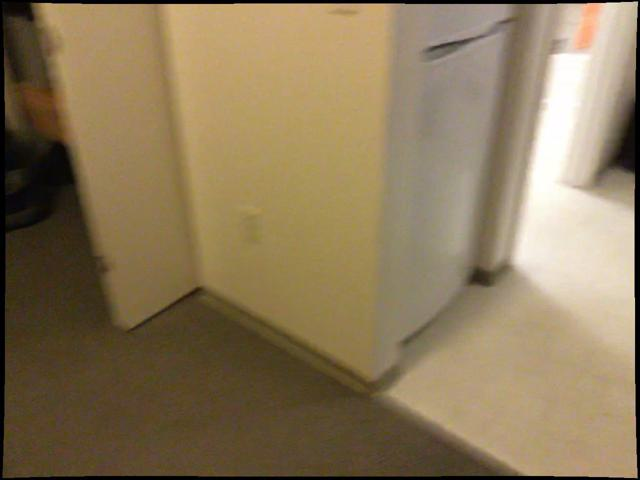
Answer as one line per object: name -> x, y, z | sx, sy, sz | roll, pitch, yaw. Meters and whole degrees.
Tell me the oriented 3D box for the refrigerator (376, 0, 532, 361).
refrigerator -> 0.420, -0.360, 1.780 | 0.110, 1.481, 0.610 | 24, 40, 33
